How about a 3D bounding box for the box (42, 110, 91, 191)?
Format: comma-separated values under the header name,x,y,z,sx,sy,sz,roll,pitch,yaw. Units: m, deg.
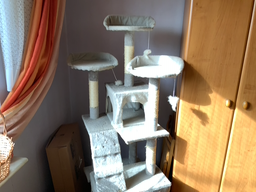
name,x,y,z,sx,sy,sz,roll,pitch,yaw
box,-0.530,0.600,1.970,0.230,0.800,0.520,4,17,5
